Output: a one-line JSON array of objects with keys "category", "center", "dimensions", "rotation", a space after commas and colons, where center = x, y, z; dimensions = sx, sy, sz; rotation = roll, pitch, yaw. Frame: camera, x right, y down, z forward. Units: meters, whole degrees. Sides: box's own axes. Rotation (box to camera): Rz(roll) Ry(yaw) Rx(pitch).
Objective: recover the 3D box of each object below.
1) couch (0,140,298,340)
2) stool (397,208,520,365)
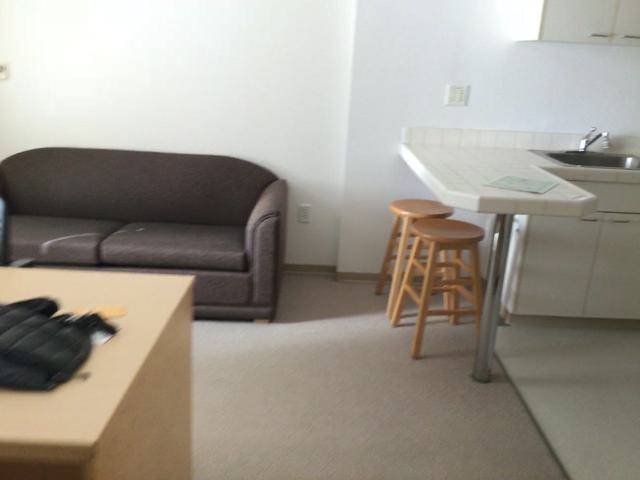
[{"category": "couch", "center": [-1.100, -0.060, 3.210], "dimensions": [1.880, 0.820, 0.900], "rotation": [2, 17, 1]}, {"category": "stool", "center": [0.660, 0.210, 2.910], "dimensions": [0.450, 0.620, 0.530], "rotation": [2, 17, 1]}]
